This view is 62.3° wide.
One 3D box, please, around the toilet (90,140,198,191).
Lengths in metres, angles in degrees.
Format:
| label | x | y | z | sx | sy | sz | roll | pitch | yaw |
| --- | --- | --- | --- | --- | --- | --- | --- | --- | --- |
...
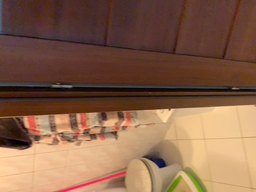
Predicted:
| label | x | y | z | sx | sy | sz | roll | pitch | yaw |
| --- | --- | --- | --- | --- | --- | --- | --- | --- | --- |
| toilet | 0.110 | 0.810 | 1.930 | 0.380 | 0.750 | 0.640 | 53 | 135 | 47 |

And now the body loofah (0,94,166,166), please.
| label | x | y | z | sx | sy | sz | roll | pitch | yaw |
| --- | --- | --- | --- | --- | --- | --- | --- | --- | --- |
| body loofah | -0.290 | 0.200 | 1.530 | 0.220 | 1.120 | 0.370 | 54 | 135 | 46 |
